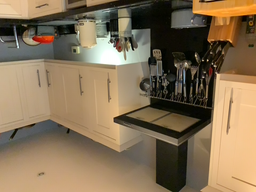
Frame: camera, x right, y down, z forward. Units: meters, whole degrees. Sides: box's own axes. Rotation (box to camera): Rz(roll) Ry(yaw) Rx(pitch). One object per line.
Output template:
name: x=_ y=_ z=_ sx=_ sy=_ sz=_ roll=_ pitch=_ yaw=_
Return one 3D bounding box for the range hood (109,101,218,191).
range hood: x=0.290 y=0.460 z=1.820 sx=0.710 sy=0.620 sz=0.530 roll=12 pitch=-160 yaw=40
